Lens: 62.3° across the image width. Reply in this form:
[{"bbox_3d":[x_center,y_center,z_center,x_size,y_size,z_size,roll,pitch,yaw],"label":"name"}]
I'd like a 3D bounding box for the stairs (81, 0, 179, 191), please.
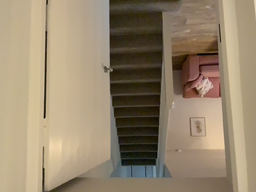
[{"bbox_3d":[0.100,0.070,3.720,1.000,2.430,2.930,-2,174,4],"label":"stairs"}]

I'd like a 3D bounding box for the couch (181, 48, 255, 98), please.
[{"bbox_3d":[2.380,-0.510,5.180,1.910,0.950,1.070,-2,174,4],"label":"couch"}]
